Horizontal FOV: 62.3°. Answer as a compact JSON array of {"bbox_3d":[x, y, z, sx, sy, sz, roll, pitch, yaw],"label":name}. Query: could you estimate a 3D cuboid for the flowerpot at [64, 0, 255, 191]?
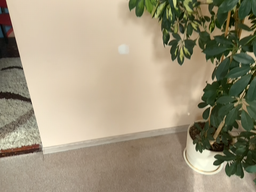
[{"bbox_3d":[0.710,-0.230,1.010,1.520,2.160,1.300,31,43,31],"label":"flowerpot"}]
